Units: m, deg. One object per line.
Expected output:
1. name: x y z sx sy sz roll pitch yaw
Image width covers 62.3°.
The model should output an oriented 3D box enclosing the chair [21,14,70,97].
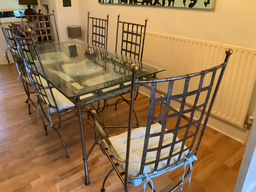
1. chair: -1.120 -0.560 2.920 0.390 1.020 0.400 -15 30 -28

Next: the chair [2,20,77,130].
1. chair: -0.910 -0.240 2.270 0.460 1.020 0.410 -20 33 -35

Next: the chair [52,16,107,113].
1. chair: -0.560 -0.380 2.530 0.390 1.020 0.430 -19 32 -32
